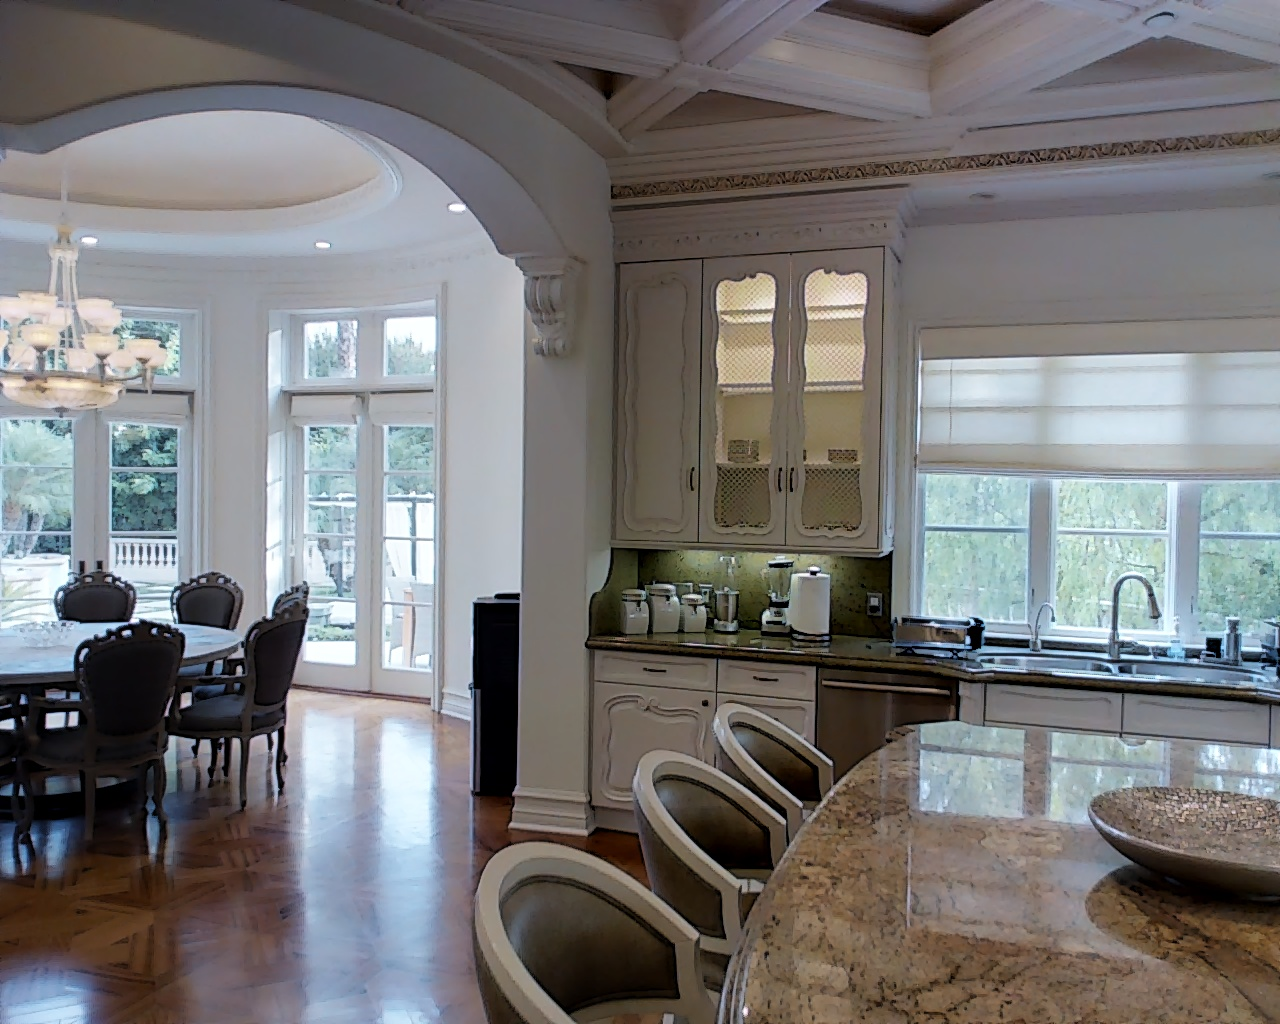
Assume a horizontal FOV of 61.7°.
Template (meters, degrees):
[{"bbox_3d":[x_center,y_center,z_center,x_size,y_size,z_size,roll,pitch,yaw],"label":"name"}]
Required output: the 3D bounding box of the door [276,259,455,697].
[{"bbox_3d":[-2.229,-0.270,8.630,1.530,3.371,0.210,1,1,21],"label":"door"}]
